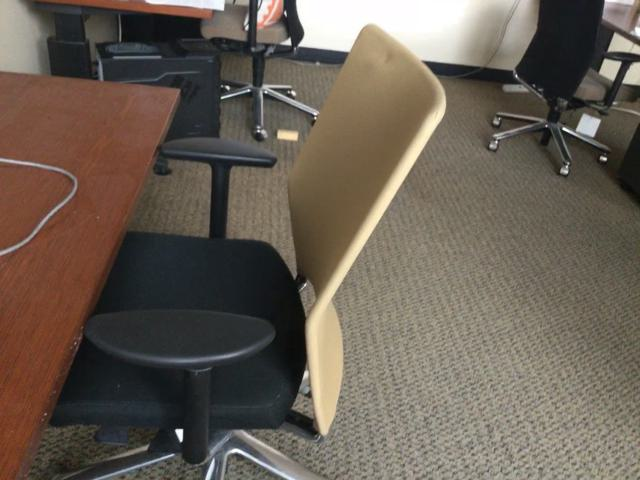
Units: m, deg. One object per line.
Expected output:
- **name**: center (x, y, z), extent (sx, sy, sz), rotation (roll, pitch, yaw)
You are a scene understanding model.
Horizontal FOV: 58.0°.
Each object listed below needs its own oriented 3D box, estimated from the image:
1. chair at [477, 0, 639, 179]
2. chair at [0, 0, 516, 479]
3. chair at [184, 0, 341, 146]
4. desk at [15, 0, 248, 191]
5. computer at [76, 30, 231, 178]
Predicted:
- **chair**: center (1.350, -0.910, 2.960), extent (0.690, 0.930, 0.670), rotation (4, 33, -6)
- **chair**: center (-0.170, 0.110, 1.070), extent (0.590, 0.930, 0.670), rotation (4, 33, -6)
- **chair**: center (-0.280, -1.100, 2.850), extent (0.670, 1.020, 0.670), rotation (4, 33, -6)
- **desk**: center (-0.760, -1.020, 2.830), extent (0.710, 0.830, 1.610), rotation (4, 33, -6)
- **computer**: center (-0.700, -0.600, 2.550), extent (0.560, 0.480, 0.390), rotation (4, 33, -6)
